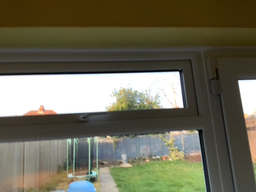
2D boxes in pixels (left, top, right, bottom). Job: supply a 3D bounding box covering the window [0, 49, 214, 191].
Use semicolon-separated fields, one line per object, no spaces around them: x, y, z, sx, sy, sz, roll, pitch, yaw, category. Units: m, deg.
-0.220;0.230;0.940;1.190;0.900;0.060;-2;-11;-8;window
